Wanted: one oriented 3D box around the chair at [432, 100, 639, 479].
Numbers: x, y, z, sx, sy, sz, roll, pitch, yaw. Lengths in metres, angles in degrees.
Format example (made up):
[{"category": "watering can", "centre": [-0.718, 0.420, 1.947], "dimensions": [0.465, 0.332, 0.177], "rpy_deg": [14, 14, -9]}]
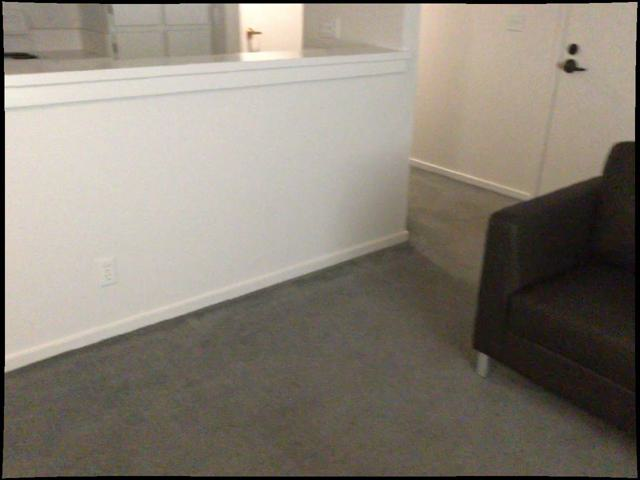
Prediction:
[{"category": "chair", "centre": [1.107, 0.140, 2.040], "dimensions": [0.849, 0.932, 0.909], "rpy_deg": [-20, 39, -38]}]
